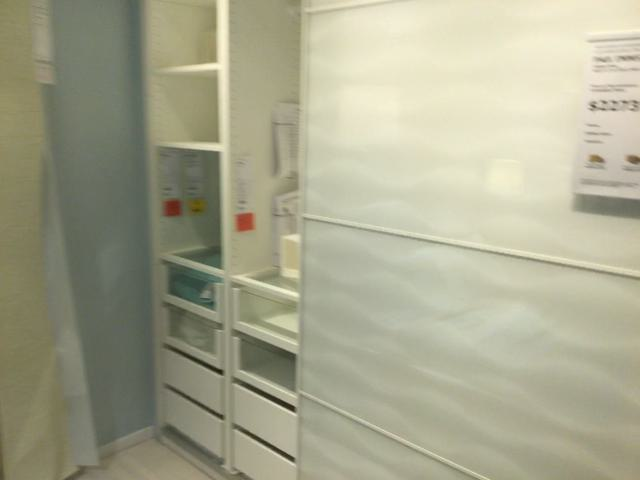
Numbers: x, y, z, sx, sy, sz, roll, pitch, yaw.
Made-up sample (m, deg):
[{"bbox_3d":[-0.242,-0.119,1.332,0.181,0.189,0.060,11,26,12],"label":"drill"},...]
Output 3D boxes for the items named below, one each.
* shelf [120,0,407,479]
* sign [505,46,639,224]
[{"bbox_3d":[-0.240,-0.130,2.230,0.960,2.240,0.480,18,25,41],"label":"shelf"},{"bbox_3d":[0.490,-0.210,1.130,0.220,0.320,0.020,18,21,42],"label":"sign"}]
